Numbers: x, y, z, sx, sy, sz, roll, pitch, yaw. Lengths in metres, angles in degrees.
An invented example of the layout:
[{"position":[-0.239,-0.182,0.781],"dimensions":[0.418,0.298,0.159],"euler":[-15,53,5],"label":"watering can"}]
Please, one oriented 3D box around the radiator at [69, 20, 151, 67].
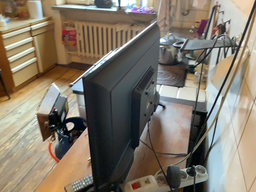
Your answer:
[{"position":[-0.300,-0.870,3.450],"dimensions":[1.300,0.580,0.180],"euler":[10,31,13],"label":"radiator"}]
